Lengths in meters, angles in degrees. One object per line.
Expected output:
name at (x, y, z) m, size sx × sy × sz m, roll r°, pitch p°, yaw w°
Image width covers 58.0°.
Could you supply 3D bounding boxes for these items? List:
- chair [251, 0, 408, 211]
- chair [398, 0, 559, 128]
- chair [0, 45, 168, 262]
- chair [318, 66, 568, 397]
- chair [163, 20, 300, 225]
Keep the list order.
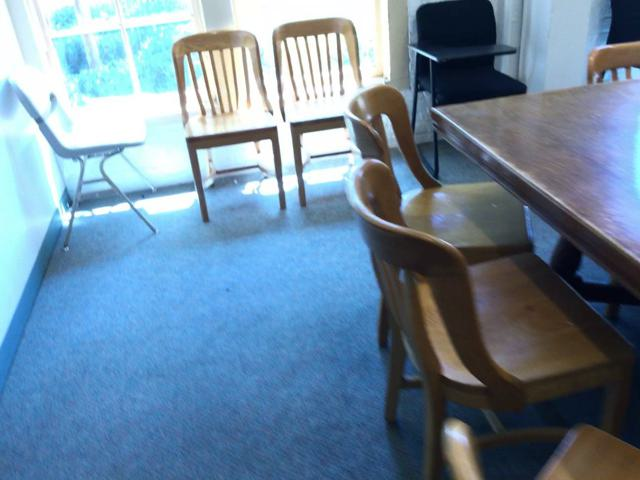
chair at (0.050, -0.720, 3.040) m, size 0.620 × 0.870 × 0.580 m, roll -12°, pitch 30°, yaw -8°
chair at (0.800, -0.990, 3.040) m, size 0.580 × 0.540 × 0.600 m, roll -12°, pitch 30°, yaw -8°
chair at (-1.110, -0.450, 2.860) m, size 0.510 × 0.810 × 0.650 m, roll -12°, pitch 30°, yaw -8°
chair at (0.430, -0.060, 1.870) m, size 0.610 × 0.820 × 0.610 m, roll 4°, pitch 32°, yaw 20°
chair at (-0.460, -0.630, 3.020) m, size 0.500 × 0.840 × 0.610 m, roll -12°, pitch 30°, yaw -8°
